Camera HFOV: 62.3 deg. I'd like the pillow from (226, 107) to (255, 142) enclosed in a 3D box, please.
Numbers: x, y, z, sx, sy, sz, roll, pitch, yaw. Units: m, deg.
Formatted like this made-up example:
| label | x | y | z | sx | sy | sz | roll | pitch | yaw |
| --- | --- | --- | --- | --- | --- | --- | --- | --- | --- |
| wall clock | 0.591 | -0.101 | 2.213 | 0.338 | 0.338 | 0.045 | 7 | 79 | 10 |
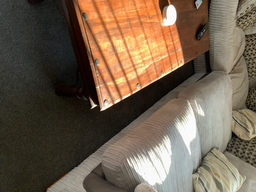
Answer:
| label | x | y | z | sx | sy | sz | roll | pitch | yaw |
| --- | --- | --- | --- | --- | --- | --- | --- | --- | --- |
| pillow | 1.330 | 0.290 | 2.290 | 0.620 | 0.320 | 0.270 | -1 | 95 | -49 |
